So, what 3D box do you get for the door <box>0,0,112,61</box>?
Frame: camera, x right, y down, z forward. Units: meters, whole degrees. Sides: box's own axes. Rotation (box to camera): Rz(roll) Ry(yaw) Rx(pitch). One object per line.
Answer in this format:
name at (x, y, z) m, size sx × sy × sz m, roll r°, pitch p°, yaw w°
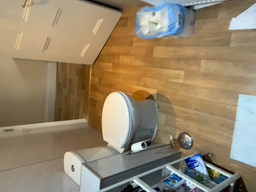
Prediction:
door at (-1.060, -0.670, 1.860) m, size 0.740 × 1.800 × 0.120 m, roll -47°, pitch 58°, yaw 39°
